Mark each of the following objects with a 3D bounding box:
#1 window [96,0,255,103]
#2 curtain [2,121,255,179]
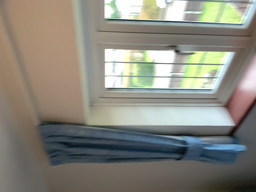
[{"bbox_3d":[0.320,-0.520,1.050,1.510,0.950,0.110,95,173,-46],"label":"window"},{"bbox_3d":[0.080,0.380,1.450,0.510,1.580,0.130,95,173,-46],"label":"curtain"}]
